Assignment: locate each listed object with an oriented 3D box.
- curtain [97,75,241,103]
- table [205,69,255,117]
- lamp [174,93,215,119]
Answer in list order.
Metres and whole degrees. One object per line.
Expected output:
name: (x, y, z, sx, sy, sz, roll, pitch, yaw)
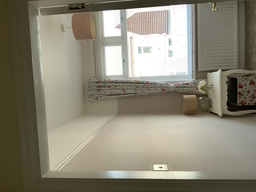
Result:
curtain: (0.620, -0.100, 3.440, 0.120, 2.260, 0.370, -23, -69, -84)
table: (1.470, -0.050, 2.970, 0.610, 0.600, 0.600, -26, -65, -84)
lamp: (0.980, 0.140, 3.180, 0.390, 0.510, 0.360, -7, -85, -84)
